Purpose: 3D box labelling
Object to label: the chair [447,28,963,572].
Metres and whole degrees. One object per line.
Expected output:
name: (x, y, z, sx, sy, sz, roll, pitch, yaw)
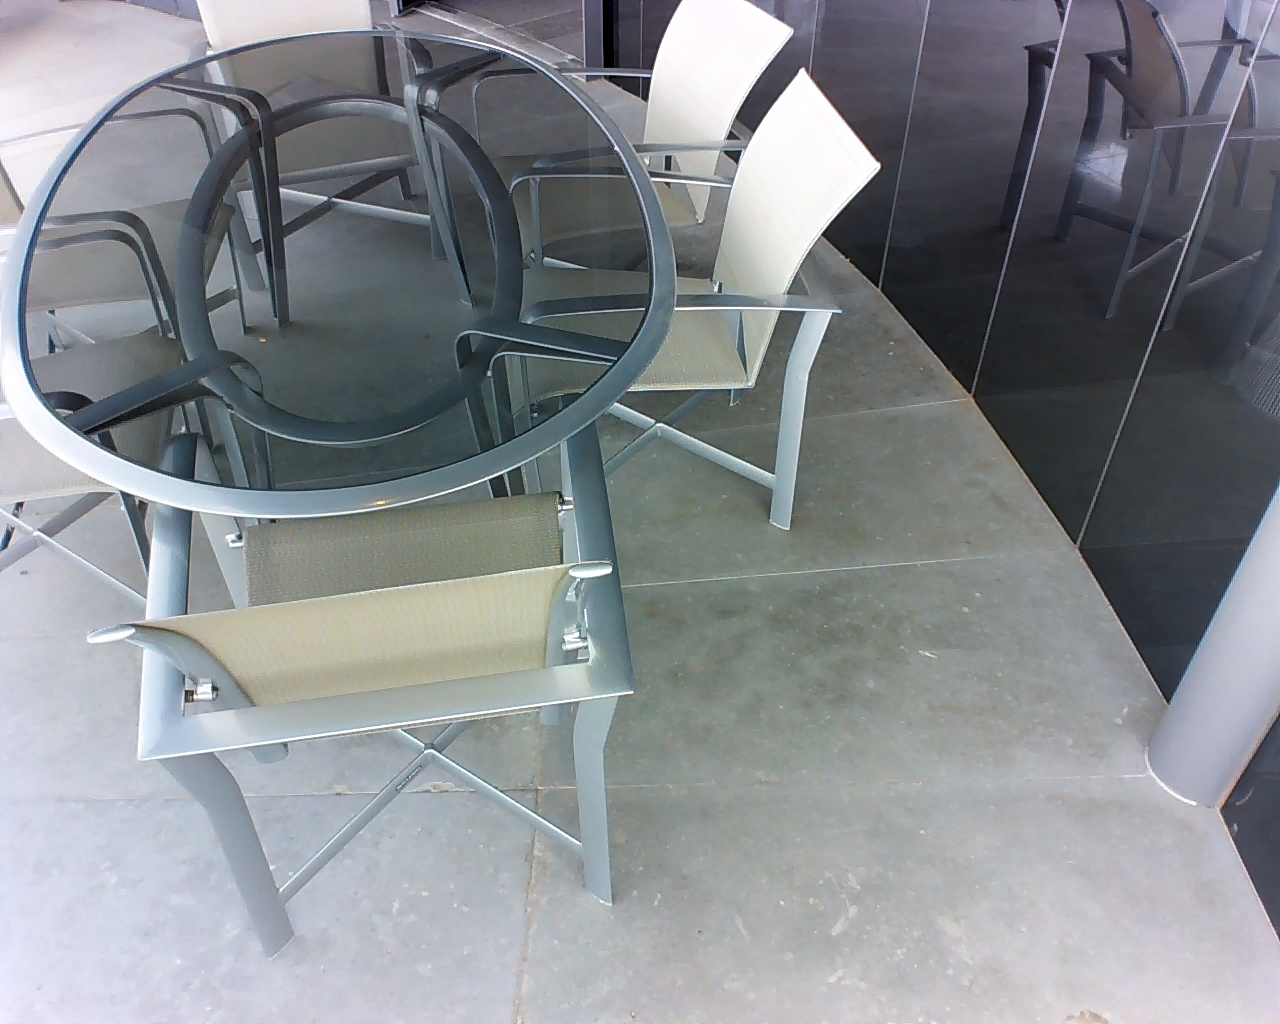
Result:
chair: (0.090, -0.470, 2.370, 0.870, 0.870, 0.670, -8, 43, -7)
